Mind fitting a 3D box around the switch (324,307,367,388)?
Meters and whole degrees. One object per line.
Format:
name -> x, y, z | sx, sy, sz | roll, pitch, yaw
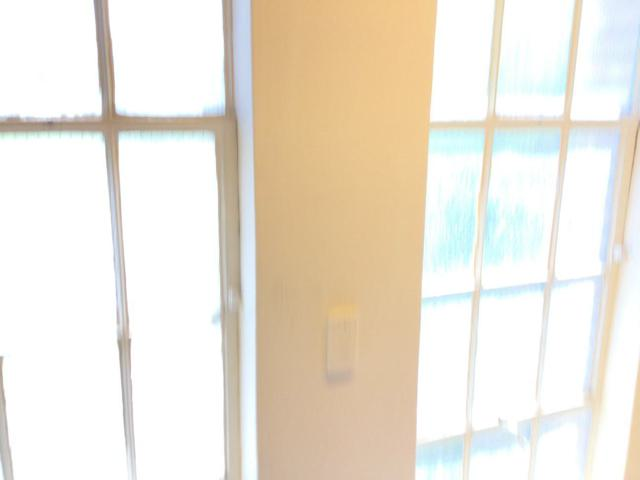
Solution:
switch -> 0.060, 0.250, 1.350 | 0.100, 0.180, 0.020 | -3, 10, -20
